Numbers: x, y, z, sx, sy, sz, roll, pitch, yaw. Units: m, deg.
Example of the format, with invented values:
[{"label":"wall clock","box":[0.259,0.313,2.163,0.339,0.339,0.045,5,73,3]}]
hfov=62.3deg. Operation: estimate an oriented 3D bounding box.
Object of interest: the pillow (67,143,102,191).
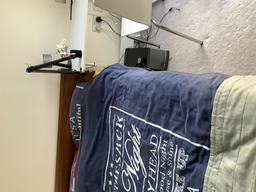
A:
[{"label":"pillow","box":[-0.410,0.830,1.870,0.400,0.140,0.710,18,105,57]}]

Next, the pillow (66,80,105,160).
[{"label":"pillow","box":[-0.380,0.180,1.830,0.360,0.180,0.600,17,104,58]}]

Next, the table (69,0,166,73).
[{"label":"table","box":[-0.090,-0.640,1.930,0.390,0.740,0.790,14,101,58]}]
